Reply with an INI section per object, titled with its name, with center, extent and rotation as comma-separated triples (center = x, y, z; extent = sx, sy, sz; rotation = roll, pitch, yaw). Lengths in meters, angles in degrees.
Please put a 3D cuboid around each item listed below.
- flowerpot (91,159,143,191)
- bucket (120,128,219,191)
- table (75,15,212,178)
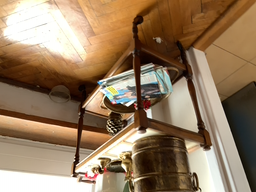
[flowerpot]
center = -0.060, 0.490, 1.100
extent = 0.210, 0.250, 0.180
rotation = 17, 141, -26
[bucket]
center = 0.140, 0.290, 0.830
extent = 0.250, 0.190, 0.260
rotation = 17, 141, -26
[table]
center = 0.020, 0.050, 1.180
extent = 0.350, 0.600, 0.630
rotation = 18, 140, -26
